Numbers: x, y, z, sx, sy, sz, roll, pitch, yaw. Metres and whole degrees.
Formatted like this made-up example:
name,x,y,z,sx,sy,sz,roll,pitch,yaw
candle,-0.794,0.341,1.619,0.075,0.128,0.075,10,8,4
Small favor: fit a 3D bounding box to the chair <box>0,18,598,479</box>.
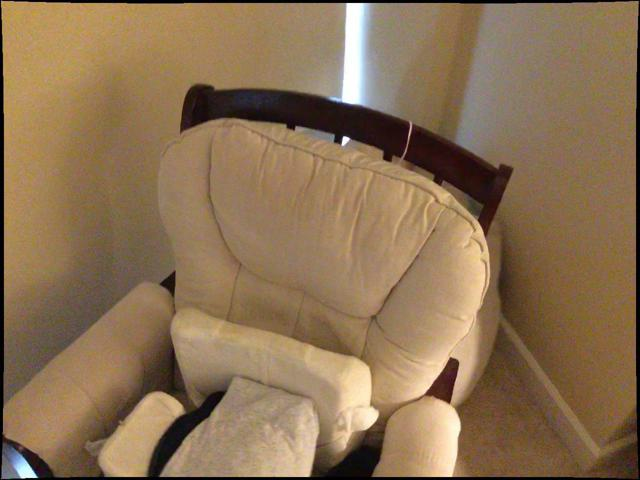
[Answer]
name,x,y,z,sx,sy,sz,roll,pitch,yaw
chair,-0.150,0.351,1.070,0.809,0.961,0.941,20,51,14
